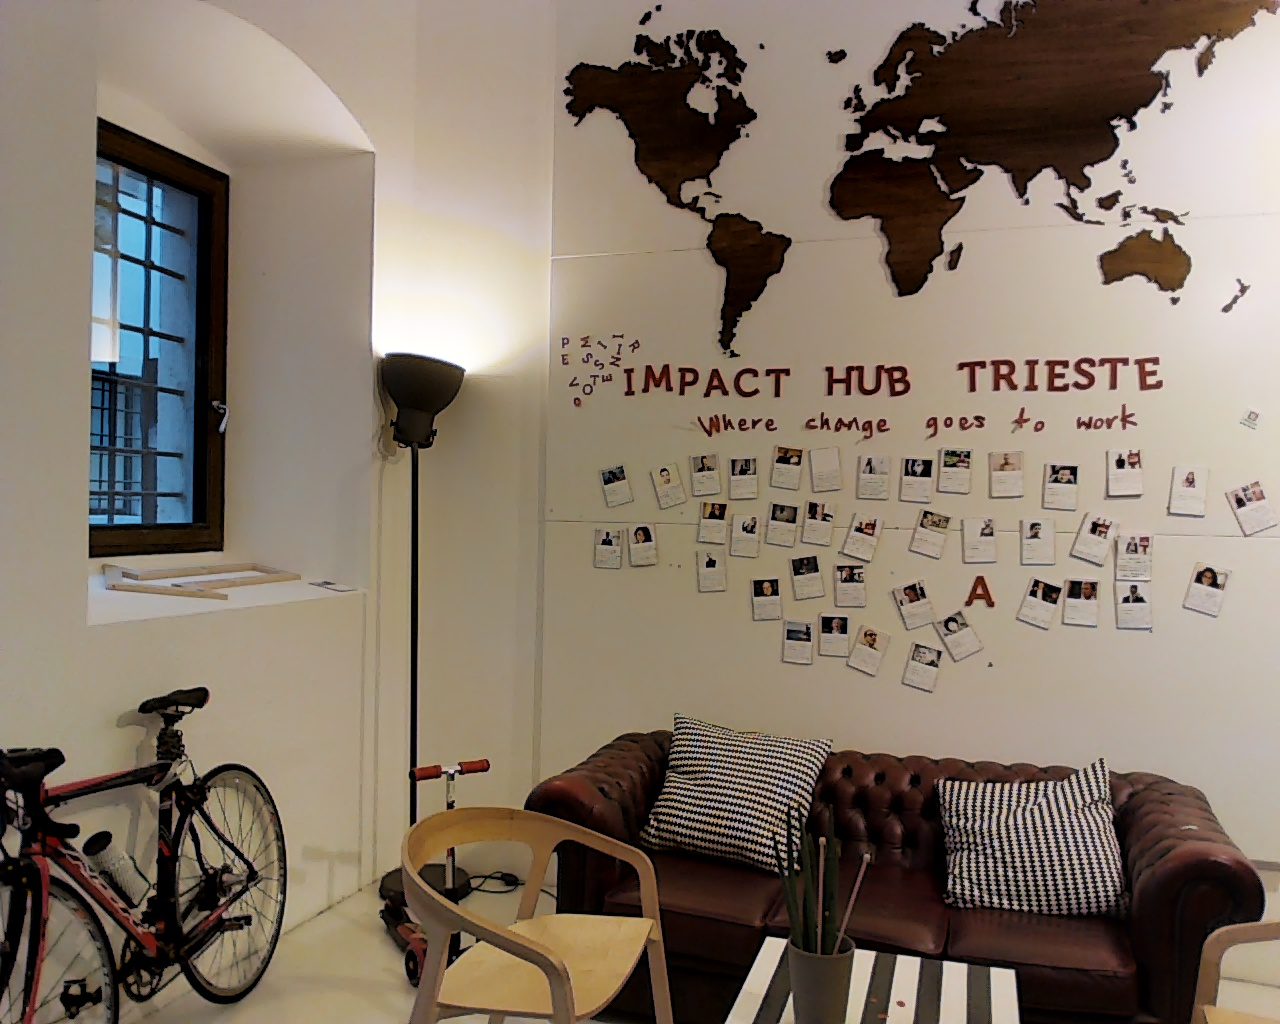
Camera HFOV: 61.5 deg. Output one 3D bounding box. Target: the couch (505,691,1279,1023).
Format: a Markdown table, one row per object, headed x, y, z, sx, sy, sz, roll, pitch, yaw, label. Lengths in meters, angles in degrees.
| x | y | z | sx | sy | sz | roll | pitch | yaw | label |
| --- | --- | --- | --- | --- | --- | --- | --- | --- | --- |
| 0.710 | 1.060 | 3.150 | 1.950 | 0.770 | 0.970 | 1 | 0 | 22 | couch |

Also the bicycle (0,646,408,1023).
| x | y | z | sx | sy | sz | roll | pitch | yaw | label |
| --- | --- | --- | --- | --- | --- | --- | --- | --- | --- |
| -1.230 | 0.940 | 2.740 | 0.480 | 0.920 | 1.740 | 8 | 2 | 11 | bicycle |
